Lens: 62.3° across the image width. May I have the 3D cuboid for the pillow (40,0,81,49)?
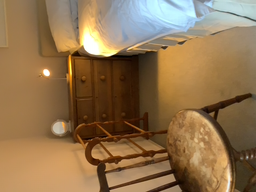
[{"bbox_3d":[-0.700,-0.830,2.230,0.170,0.390,0.610,3,98,26],"label":"pillow"}]
